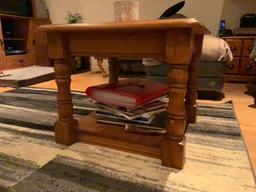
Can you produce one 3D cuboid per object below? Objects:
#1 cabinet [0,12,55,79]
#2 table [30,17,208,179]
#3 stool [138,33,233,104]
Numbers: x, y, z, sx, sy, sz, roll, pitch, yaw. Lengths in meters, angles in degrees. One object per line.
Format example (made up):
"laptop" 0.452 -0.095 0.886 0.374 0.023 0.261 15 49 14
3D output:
"cabinet" -1.630 -0.650 2.740 0.570 0.740 1.290 4 15 19
"table" 0.030 -0.060 0.960 0.570 0.470 0.580 5 15 21
"stool" 0.460 -0.270 1.800 0.620 0.470 0.670 3 14 15
